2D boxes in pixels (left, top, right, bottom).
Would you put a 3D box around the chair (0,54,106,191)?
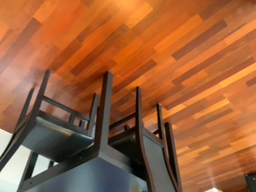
[{"bbox_3d":[-0.550,0.330,1.460,0.470,1.080,0.560,-29,129,26],"label":"chair"}]
